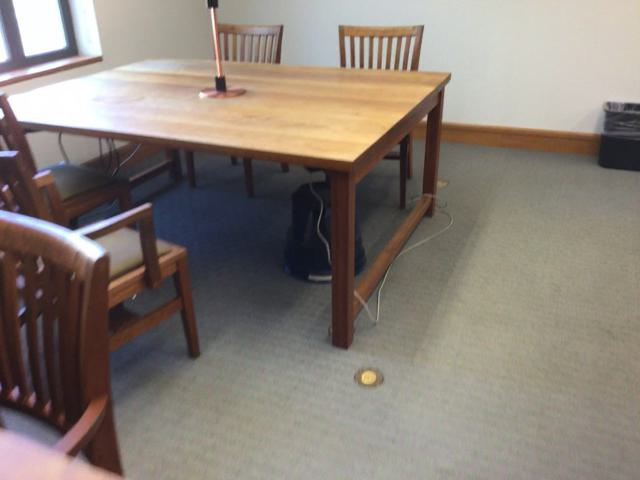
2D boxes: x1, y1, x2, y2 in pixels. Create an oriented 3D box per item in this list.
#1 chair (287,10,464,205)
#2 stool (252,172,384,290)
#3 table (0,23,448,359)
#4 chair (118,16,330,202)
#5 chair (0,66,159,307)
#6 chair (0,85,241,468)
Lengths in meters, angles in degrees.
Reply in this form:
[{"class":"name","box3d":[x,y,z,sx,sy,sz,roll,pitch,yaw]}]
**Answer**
[{"class":"chair","box3d":[0.370,-0.760,3.300,0.770,0.880,0.710,4,29,22]},{"class":"stool","box3d":[0.010,-0.060,2.690,0.450,0.370,0.430,4,29,22]},{"class":"table","box3d":[-0.420,-0.350,2.750,1.790,0.950,1.330,4,29,22]},{"class":"chair","box3d":[-0.540,-0.810,3.590,0.940,0.930,0.660,4,29,22]},{"class":"chair","box3d":[-1.210,-0.240,2.480,0.640,0.850,0.510,3,29,22]},{"class":"chair","box3d":[-0.800,0.060,1.920,0.660,0.960,0.620,16,36,39]}]
